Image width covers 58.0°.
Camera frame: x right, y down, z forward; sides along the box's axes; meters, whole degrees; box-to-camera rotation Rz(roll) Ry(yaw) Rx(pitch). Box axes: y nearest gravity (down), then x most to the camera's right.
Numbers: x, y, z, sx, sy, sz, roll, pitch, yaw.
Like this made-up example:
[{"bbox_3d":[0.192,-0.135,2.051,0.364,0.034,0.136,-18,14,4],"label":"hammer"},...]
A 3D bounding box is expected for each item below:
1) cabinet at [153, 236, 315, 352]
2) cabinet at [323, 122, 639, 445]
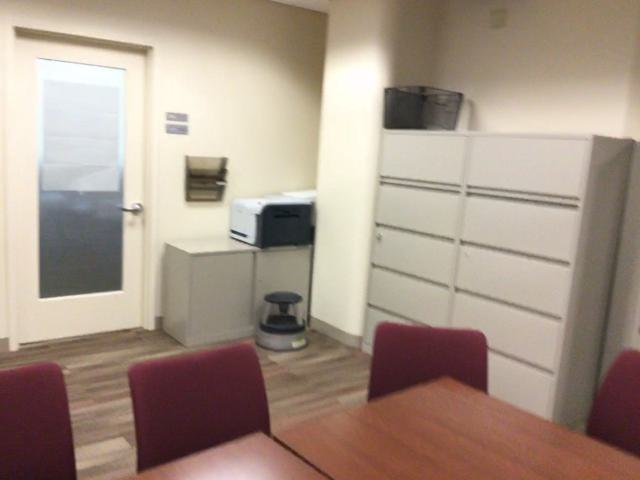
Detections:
[{"bbox_3d":[-0.650,0.370,4.460,1.100,0.690,0.490,-3,11,-38],"label":"cabinet"},{"bbox_3d":[0.930,0.080,3.710,0.670,1.570,1.900,-3,11,-38],"label":"cabinet"}]
